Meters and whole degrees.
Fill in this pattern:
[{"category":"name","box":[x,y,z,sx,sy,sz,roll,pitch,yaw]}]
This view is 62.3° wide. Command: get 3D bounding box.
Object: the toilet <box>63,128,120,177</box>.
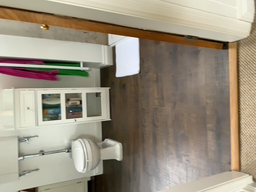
[{"category":"toilet","box":[-0.470,0.650,2.610,0.670,0.480,0.350,4,94,60]}]
